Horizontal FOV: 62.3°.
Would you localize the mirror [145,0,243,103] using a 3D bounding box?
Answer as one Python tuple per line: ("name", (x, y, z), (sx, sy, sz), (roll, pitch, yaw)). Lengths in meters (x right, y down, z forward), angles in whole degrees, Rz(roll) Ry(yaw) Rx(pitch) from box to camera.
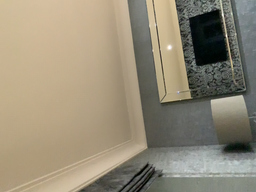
("mirror", (0.530, -0.880, 2.030), (0.050, 0.730, 1.820), (6, -104, -65))
